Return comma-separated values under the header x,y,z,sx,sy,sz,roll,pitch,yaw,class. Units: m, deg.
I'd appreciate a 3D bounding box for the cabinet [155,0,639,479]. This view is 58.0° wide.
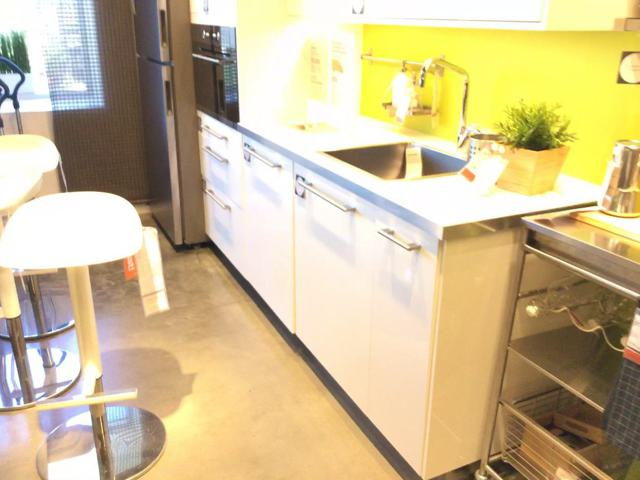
x,y,z,sx,sy,sz,roll,pitch,yaw,class
0.020,-0.320,2.430,0.620,1.640,2.330,-12,22,-28,cabinet

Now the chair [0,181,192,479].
x,y,z,sx,sy,sz,roll,pitch,yaw,class
-0.700,0.310,1.830,0.440,0.870,0.460,-8,20,-17,chair
